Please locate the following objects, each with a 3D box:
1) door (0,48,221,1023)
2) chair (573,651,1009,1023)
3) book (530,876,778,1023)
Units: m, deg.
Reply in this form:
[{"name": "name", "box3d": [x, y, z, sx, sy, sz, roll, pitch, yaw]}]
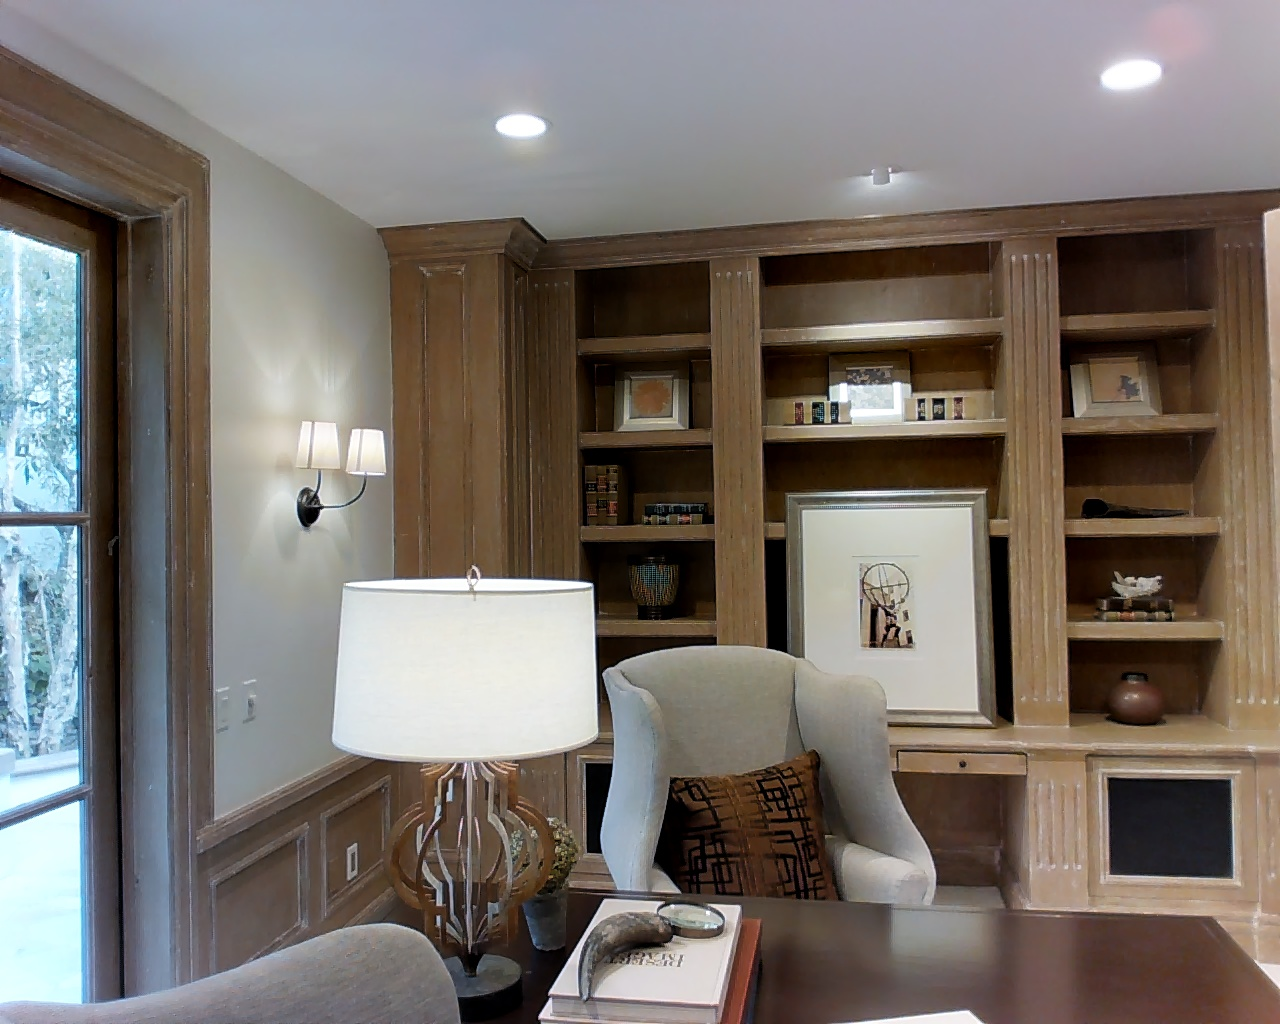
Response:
[{"name": "door", "box3d": [-1.450, 0.350, 2.130, 0.250, 2.631, 1.720, -1, -2, 11]}, {"name": "chair", "box3d": [0.350, 1.050, 2.870, 0.830, 1.230, 0.880, 0, -2, -20]}, {"name": "book", "box3d": [0.050, 0.810, 1.910, 0.350, 0.150, 0.510, -1, -2, 11]}]
